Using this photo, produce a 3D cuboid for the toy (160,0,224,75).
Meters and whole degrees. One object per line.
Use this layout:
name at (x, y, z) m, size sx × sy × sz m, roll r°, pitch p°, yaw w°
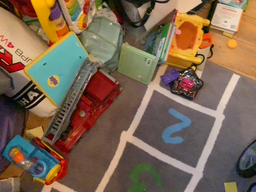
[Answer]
toy at (0.300, -0.280, 1.010) m, size 0.220 × 0.110 × 0.290 m, roll 16°, pitch 75°, yaw 4°
